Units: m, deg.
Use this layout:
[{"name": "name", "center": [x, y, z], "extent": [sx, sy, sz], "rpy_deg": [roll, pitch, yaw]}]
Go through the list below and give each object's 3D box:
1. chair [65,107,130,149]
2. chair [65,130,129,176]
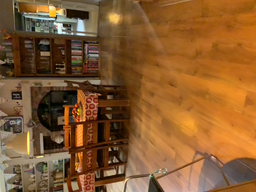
[{"name": "chair", "center": [-0.550, 0.520, 3.690], "extent": [0.530, 1.010, 0.470], "rpy_deg": [-143, 54, -63]}, {"name": "chair", "center": [-0.570, 0.980, 3.800], "extent": [0.530, 1.010, 0.470], "rpy_deg": [-143, 54, -63]}]
